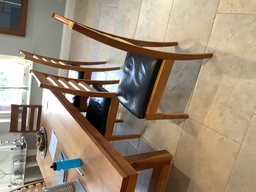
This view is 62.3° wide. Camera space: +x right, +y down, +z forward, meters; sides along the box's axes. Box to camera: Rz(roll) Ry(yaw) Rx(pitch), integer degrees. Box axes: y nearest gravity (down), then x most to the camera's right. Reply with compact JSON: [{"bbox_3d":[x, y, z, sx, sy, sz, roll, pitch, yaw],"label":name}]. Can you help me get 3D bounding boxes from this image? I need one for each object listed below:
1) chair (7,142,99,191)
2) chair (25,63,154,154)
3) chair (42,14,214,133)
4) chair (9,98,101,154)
[{"bbox_3d":[-1.060,1.100,3.030,0.460,1.100,0.590,34,116,50],"label":"chair"},{"bbox_3d":[-0.380,0.100,2.140,0.490,1.080,0.630,36,118,49],"label":"chair"},{"bbox_3d":[0.010,-0.150,1.600,0.520,1.080,0.560,42,122,47],"label":"chair"},{"bbox_3d":[-1.060,0.380,3.070,0.610,1.090,0.490,33,115,50],"label":"chair"}]
